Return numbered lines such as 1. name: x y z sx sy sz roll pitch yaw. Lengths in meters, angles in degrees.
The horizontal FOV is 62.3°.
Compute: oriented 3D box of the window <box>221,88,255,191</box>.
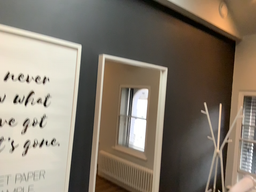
1. window: 1.510 0.540 2.400 0.040 1.240 0.840 3 1 -37
